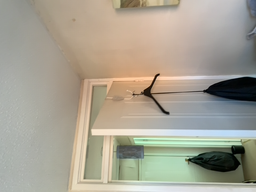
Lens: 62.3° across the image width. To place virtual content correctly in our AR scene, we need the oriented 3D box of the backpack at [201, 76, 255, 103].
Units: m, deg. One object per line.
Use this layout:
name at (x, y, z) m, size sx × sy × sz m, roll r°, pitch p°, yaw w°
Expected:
backpack at (0.670, -0.050, 1.310) m, size 0.320 × 0.350 × 0.130 m, roll -58°, pitch -33°, yaw -80°

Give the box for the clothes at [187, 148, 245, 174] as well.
clothes at (1.590, 1.200, 3.910) m, size 0.250 × 0.920 × 0.420 m, roll 78°, pitch -167°, yaw -66°
